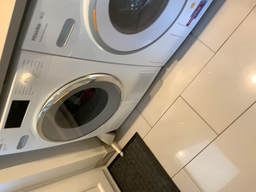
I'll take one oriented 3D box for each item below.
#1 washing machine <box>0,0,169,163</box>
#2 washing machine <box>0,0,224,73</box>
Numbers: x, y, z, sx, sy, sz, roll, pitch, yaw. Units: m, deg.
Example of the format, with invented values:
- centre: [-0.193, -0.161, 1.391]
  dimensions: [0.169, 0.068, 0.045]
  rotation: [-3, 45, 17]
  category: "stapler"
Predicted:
- centre: [-0.400, -0.160, 1.270]
  dimensions: [0.720, 0.910, 0.590]
  rotation: [52, 122, 28]
  category: "washing machine"
- centre: [-0.110, -0.590, 0.990]
  dimensions: [0.720, 0.910, 0.580]
  rotation: [52, 122, 28]
  category: "washing machine"
